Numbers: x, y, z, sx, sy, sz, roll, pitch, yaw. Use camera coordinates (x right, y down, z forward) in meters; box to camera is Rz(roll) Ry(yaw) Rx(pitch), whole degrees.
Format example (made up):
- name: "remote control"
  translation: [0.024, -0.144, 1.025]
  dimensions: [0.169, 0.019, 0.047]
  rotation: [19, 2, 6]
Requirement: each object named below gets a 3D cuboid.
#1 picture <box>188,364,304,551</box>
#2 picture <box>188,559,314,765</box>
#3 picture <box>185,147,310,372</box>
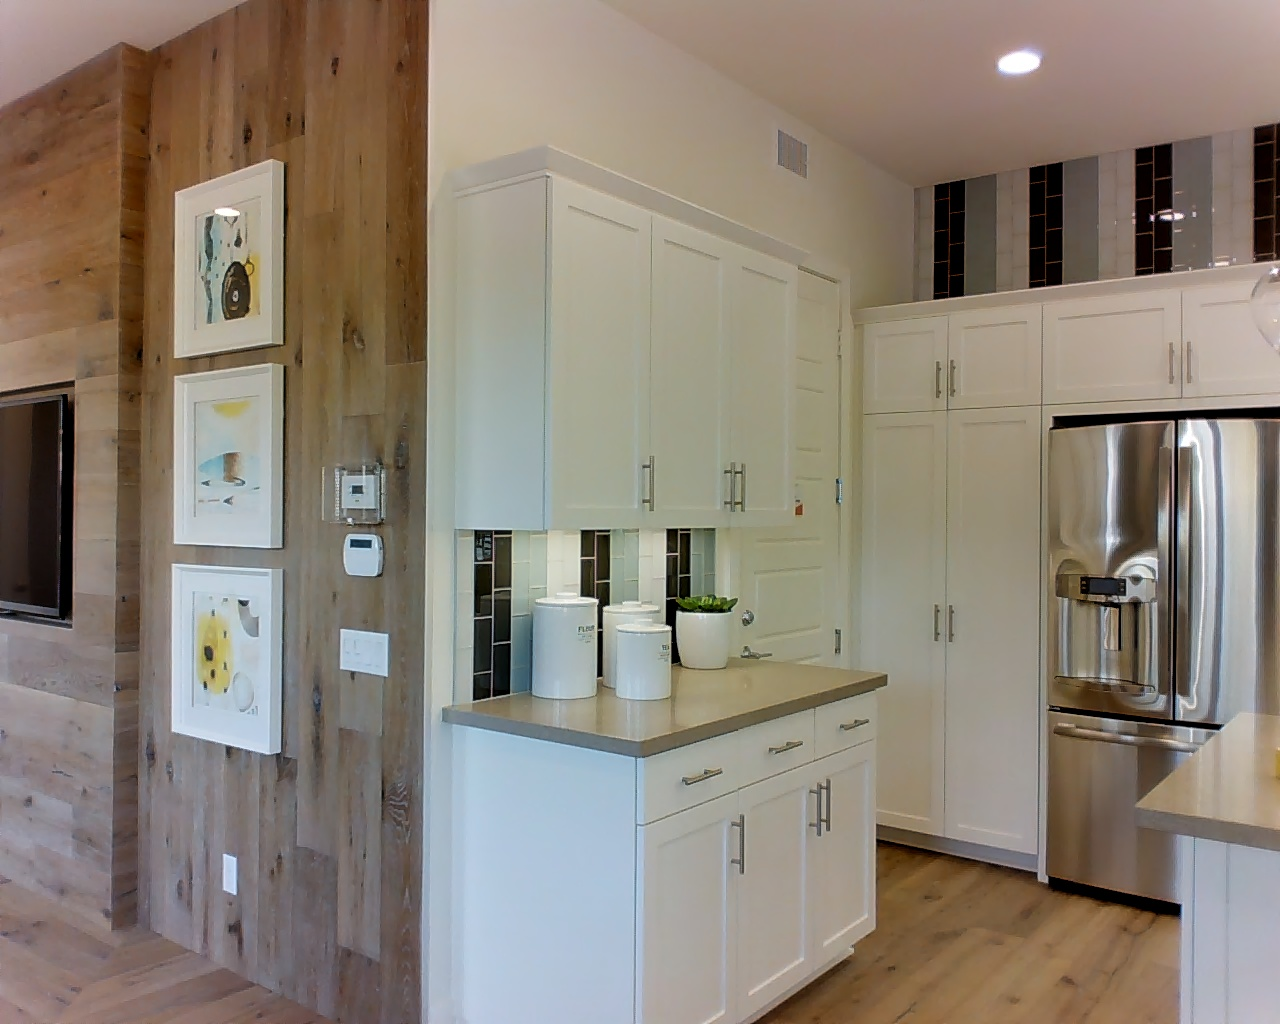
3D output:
- name: "picture"
  translation: [-1.239, -0.160, 3.350]
  dimensions: [0.550, 0.550, 0.050]
  rotation: [0, -1, 37]
- name: "picture"
  translation: [-1.229, 0.450, 3.360]
  dimensions: [0.600, 0.590, 0.050]
  rotation: [0, -1, 37]
- name: "picture"
  translation: [-1.239, -0.770, 3.360]
  dimensions: [0.580, 0.610, 0.060]
  rotation: [0, -1, 37]
